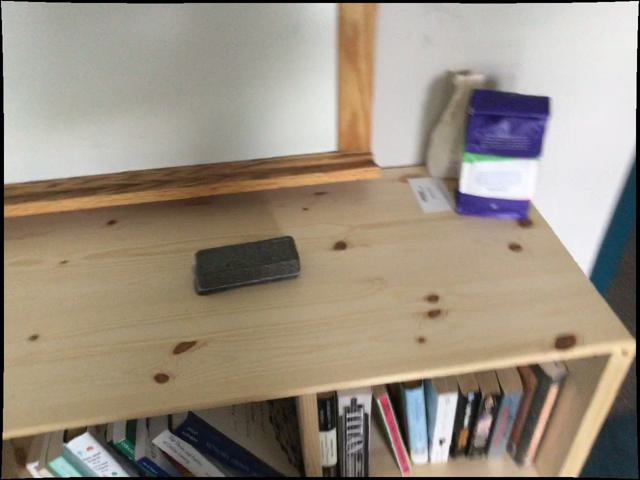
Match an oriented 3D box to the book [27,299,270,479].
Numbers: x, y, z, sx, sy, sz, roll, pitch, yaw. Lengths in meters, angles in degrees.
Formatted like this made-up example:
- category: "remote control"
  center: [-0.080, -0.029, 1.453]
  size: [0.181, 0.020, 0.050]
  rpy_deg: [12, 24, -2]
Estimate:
- category: "book"
  center: [-0.219, 0.271, 0.840]
  size: [0.269, 0.220, 0.260]
  rpy_deg: [-6, 41, -5]
